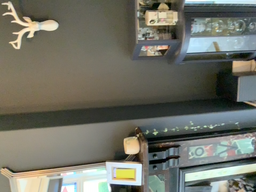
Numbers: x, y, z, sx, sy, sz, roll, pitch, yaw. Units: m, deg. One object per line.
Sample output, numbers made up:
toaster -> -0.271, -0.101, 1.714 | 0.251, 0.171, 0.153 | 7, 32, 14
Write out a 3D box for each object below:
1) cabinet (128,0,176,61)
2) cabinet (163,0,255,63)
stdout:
cabinet -> 0.170, -0.750, 1.600 | 0.270, 0.300, 0.930 | -133, 40, -74
cabinet -> 0.740, -0.820, 1.640 | 0.380, 0.850, 1.070 | -133, 40, -74
